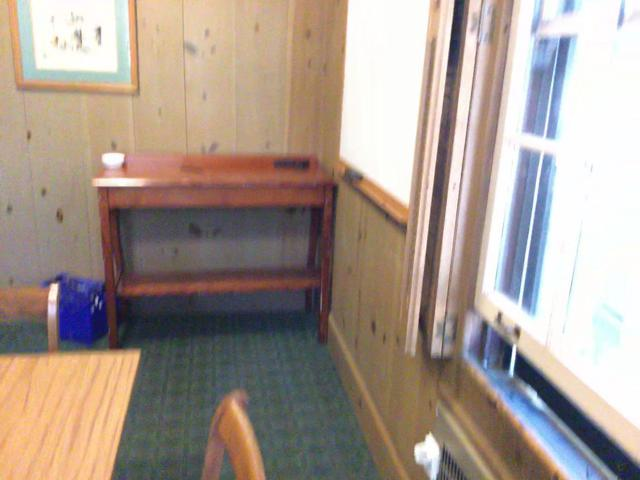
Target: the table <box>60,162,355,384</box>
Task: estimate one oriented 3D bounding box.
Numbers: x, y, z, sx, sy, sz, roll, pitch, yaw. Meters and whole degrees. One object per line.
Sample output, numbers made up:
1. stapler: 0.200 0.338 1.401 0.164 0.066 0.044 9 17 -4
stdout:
1. table: -0.540 0.120 3.140 1.340 0.940 0.720 -3 16 -7
